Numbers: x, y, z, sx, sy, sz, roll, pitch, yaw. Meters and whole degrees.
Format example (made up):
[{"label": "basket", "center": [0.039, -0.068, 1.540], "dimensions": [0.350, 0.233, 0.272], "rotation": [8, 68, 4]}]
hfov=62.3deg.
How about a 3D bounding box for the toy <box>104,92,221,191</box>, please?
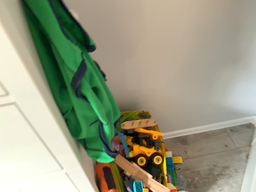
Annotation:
[{"label": "toy", "center": [0.130, 0.380, 1.150], "dimensions": [0.390, 0.510, 0.550], "rotation": [-10, 50, -5]}]
